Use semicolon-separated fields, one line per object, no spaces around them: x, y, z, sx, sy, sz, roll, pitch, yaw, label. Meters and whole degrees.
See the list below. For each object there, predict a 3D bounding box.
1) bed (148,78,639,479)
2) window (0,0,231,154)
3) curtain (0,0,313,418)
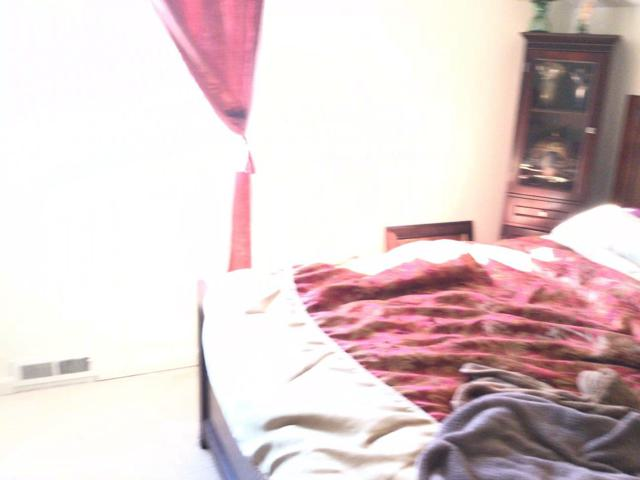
0.780;0.270;1.780;2.160;1.470;1.920;-8;16;-22;bed
-1.140;-0.860;2.220;1.490;1.010;0.290;-8;16;-22;window
-1.060;-0.410;2.250;2.020;2.130;0.340;-8;16;-22;curtain
